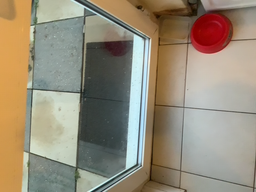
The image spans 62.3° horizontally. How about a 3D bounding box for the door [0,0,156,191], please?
[{"bbox_3d":[-0.350,0.030,0.320,0.030,1.940,0.670,5,93,29],"label":"door"}]
